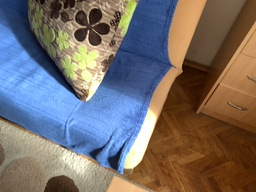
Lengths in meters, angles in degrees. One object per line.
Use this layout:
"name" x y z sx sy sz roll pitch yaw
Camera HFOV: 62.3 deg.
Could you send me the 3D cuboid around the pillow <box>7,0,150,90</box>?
"pillow" -0.270 -0.400 0.940 0.320 0.480 0.600 -38 43 -21
